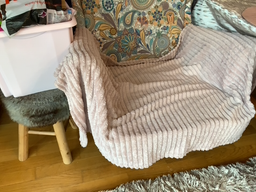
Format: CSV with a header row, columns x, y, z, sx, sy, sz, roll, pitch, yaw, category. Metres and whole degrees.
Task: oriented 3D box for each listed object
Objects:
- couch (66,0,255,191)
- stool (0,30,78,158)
x,y,z,sx,sy,sz,roll,pitch,yaw,category
0.130,-0.230,1.070,0.780,1.020,0.950,-7,41,-14,couch
-0.560,-0.050,1.250,0.430,0.430,0.600,-7,41,-14,stool
